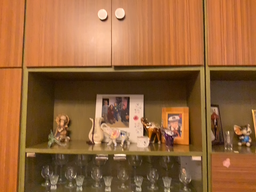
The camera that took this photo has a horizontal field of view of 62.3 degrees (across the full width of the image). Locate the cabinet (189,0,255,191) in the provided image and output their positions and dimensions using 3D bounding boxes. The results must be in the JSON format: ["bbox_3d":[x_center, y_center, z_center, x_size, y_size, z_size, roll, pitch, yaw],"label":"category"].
[{"bbox_3d":[0.830,0.140,1.110,0.910,1.560,0.370,1,-4,4],"label":"cabinet"}]
